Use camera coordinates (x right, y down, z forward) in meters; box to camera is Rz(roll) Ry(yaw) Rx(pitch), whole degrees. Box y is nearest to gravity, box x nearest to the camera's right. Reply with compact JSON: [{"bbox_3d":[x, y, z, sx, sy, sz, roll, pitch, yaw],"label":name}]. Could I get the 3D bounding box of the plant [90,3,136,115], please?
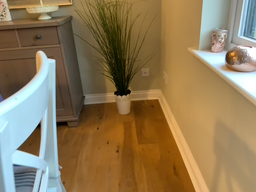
[{"bbox_3d":[-0.110,-0.320,1.950,0.310,0.950,0.300,-4,26,0],"label":"plant"}]
